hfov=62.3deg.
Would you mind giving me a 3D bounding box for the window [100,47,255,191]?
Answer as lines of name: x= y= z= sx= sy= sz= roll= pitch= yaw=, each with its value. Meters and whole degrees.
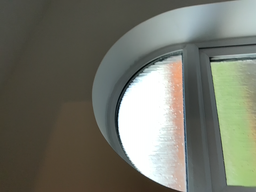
window: x=0.410 y=0.080 z=0.740 sx=0.070 sy=0.940 sz=0.670 roll=71 pitch=-158 yaw=-49
